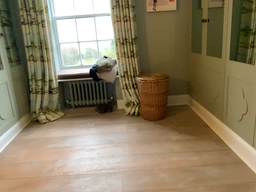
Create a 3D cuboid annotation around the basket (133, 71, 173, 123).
[{"bbox_3d":[0.310,0.000,2.760,0.440,0.550,0.420,-4,16,0],"label":"basket"}]
